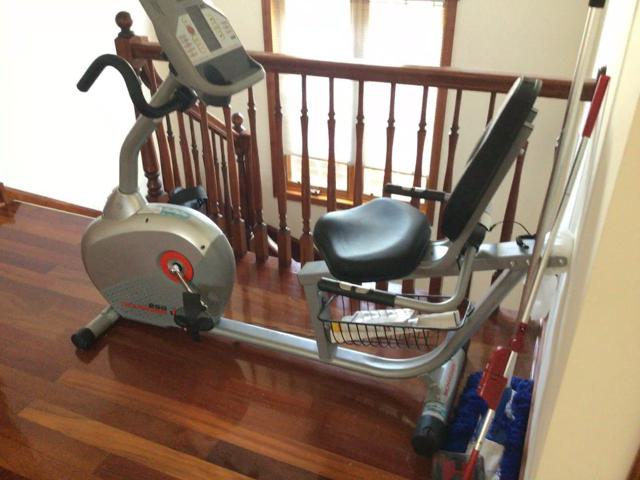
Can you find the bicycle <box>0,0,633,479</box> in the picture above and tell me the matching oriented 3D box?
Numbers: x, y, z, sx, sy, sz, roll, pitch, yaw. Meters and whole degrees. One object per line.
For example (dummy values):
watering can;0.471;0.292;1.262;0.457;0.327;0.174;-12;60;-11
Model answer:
bicycle;-0.160;-0.160;1.780;1.680;1.230;0.730;12;24;18
